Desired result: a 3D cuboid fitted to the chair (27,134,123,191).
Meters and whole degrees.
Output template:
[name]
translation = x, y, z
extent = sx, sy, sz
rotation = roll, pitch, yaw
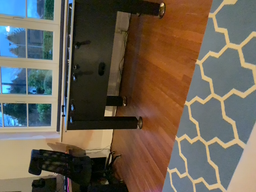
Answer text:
[chair]
translation = -0.830, 1.090, 3.280
extent = 0.620, 1.270, 0.740
rotation = -123, 40, -58
